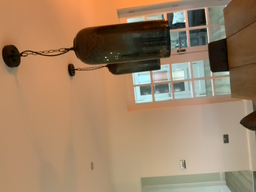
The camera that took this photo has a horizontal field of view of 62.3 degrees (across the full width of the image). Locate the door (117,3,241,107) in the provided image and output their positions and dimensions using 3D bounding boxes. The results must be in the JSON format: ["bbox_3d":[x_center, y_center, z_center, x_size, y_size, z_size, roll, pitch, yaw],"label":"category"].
[{"bbox_3d":[0.930,-0.710,3.930,0.120,2.100,1.640,-57,-39,-82],"label":"door"}]
